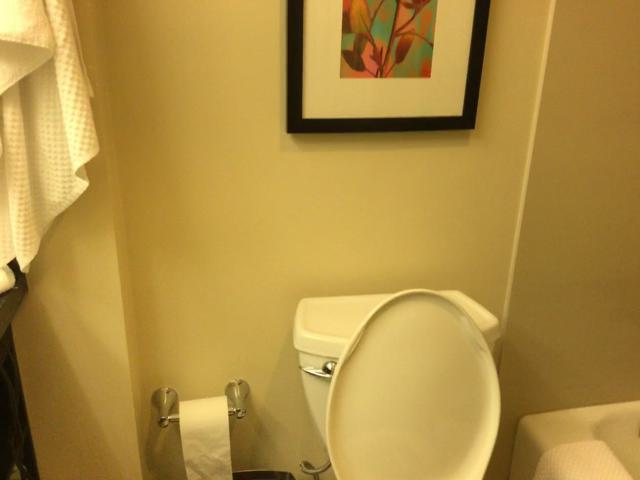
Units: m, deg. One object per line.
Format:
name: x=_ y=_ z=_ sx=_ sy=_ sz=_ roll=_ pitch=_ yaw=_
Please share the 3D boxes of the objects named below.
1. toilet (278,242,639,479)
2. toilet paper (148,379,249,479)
toilet: x=0.200 y=0.550 z=1.100 sx=0.450 sy=0.860 sz=0.760 roll=-4 pitch=20 yaw=-10
toilet paper: x=-0.270 y=0.510 z=1.330 sx=0.200 sy=0.320 sz=0.150 roll=-4 pitch=20 yaw=-10
